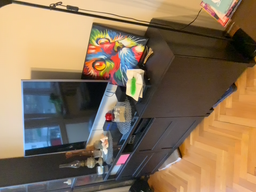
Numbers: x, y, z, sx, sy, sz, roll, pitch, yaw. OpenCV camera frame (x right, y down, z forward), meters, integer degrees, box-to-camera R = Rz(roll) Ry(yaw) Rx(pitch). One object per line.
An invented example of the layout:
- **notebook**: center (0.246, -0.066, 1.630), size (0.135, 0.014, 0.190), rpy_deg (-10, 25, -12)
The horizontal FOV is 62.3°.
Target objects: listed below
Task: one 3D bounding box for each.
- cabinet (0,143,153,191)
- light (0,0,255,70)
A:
- **cabinet**: center (-0.950, 1.050, 2.700), size (0.810, 2.430, 0.330), rpy_deg (115, 146, -42)
- **light**: center (0.090, -0.430, 1.290), size (0.290, 1.780, 0.330), rpy_deg (114, 147, -41)
